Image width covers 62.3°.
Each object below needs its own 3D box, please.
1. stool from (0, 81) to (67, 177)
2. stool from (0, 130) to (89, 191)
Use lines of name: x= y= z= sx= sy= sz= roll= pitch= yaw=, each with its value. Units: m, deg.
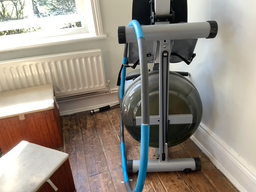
stool: x=-0.780 y=0.230 z=1.690 sx=0.430 sy=0.480 sz=0.480 roll=-13 pitch=29 yaw=-17
stool: x=-0.560 y=0.510 z=1.220 sx=0.460 sy=0.370 sz=0.450 roll=5 pitch=30 yaw=15
